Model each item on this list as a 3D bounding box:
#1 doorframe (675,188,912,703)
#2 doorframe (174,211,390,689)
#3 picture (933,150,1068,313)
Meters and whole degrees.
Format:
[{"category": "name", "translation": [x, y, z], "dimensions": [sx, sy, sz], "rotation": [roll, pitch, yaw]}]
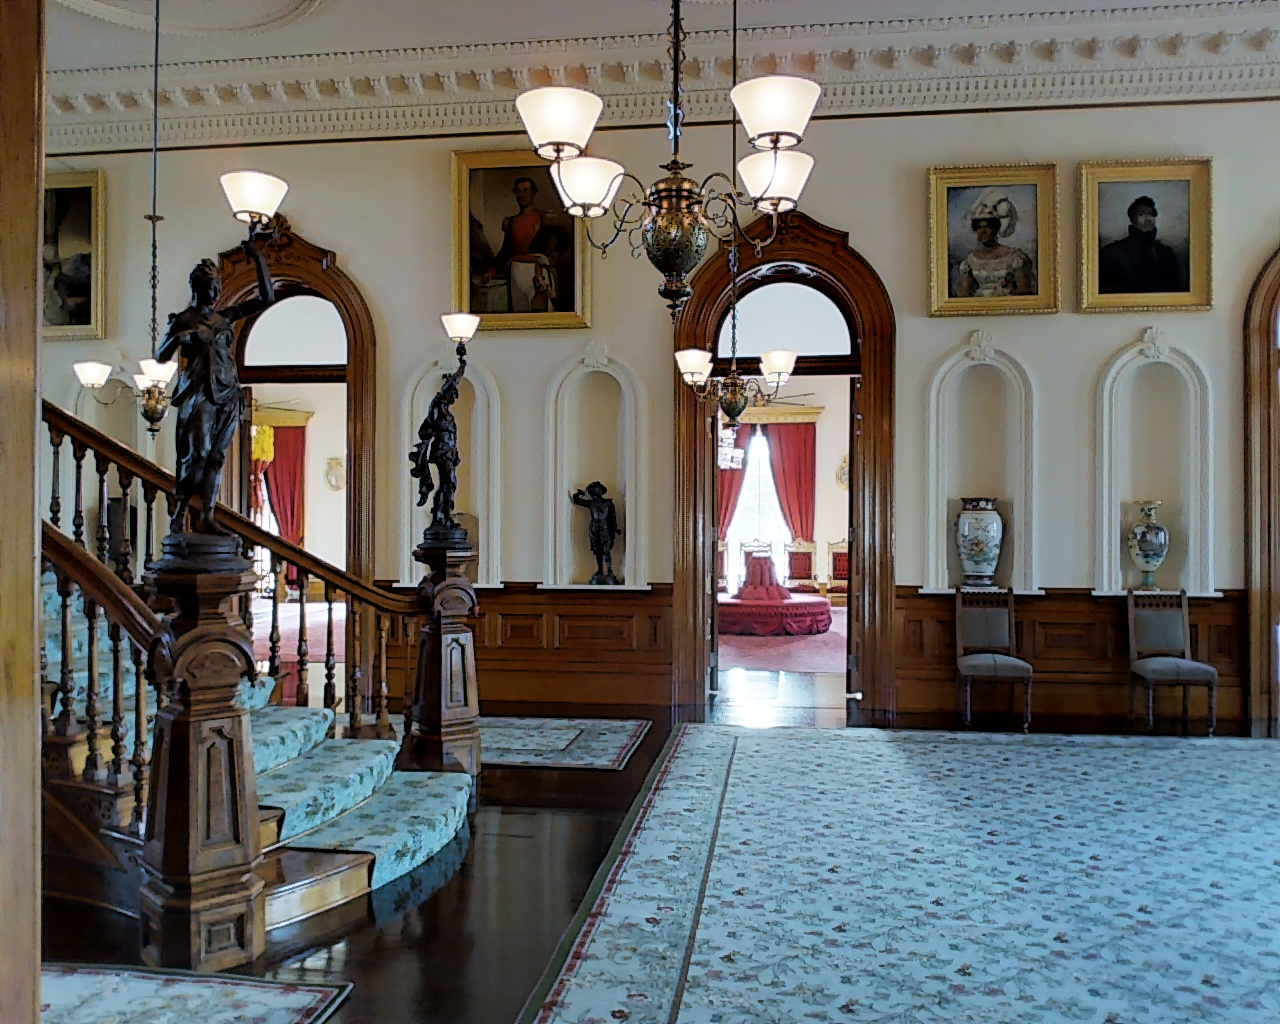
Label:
[{"category": "doorframe", "translation": [1.300, -0.550, 9.230], "dimensions": [1.960, 4.261, 0.440], "rotation": [0, 0, 7]}, {"category": "doorframe", "translation": [-3.280, -0.550, 9.870], "dimensions": [1.890, 4.241, 0.400], "rotation": [0, 0, 7]}, {"category": "picture", "translation": [2.970, -2.310, 8.890], "dimensions": [1.050, 1.270, 0.160], "rotation": [0, 0, 7]}]
